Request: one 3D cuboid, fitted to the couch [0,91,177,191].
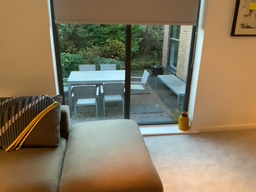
[{"bbox_3d":[-0.880,0.500,1.950,2.250,0.670,1.210,-2,21,-8],"label":"couch"}]
